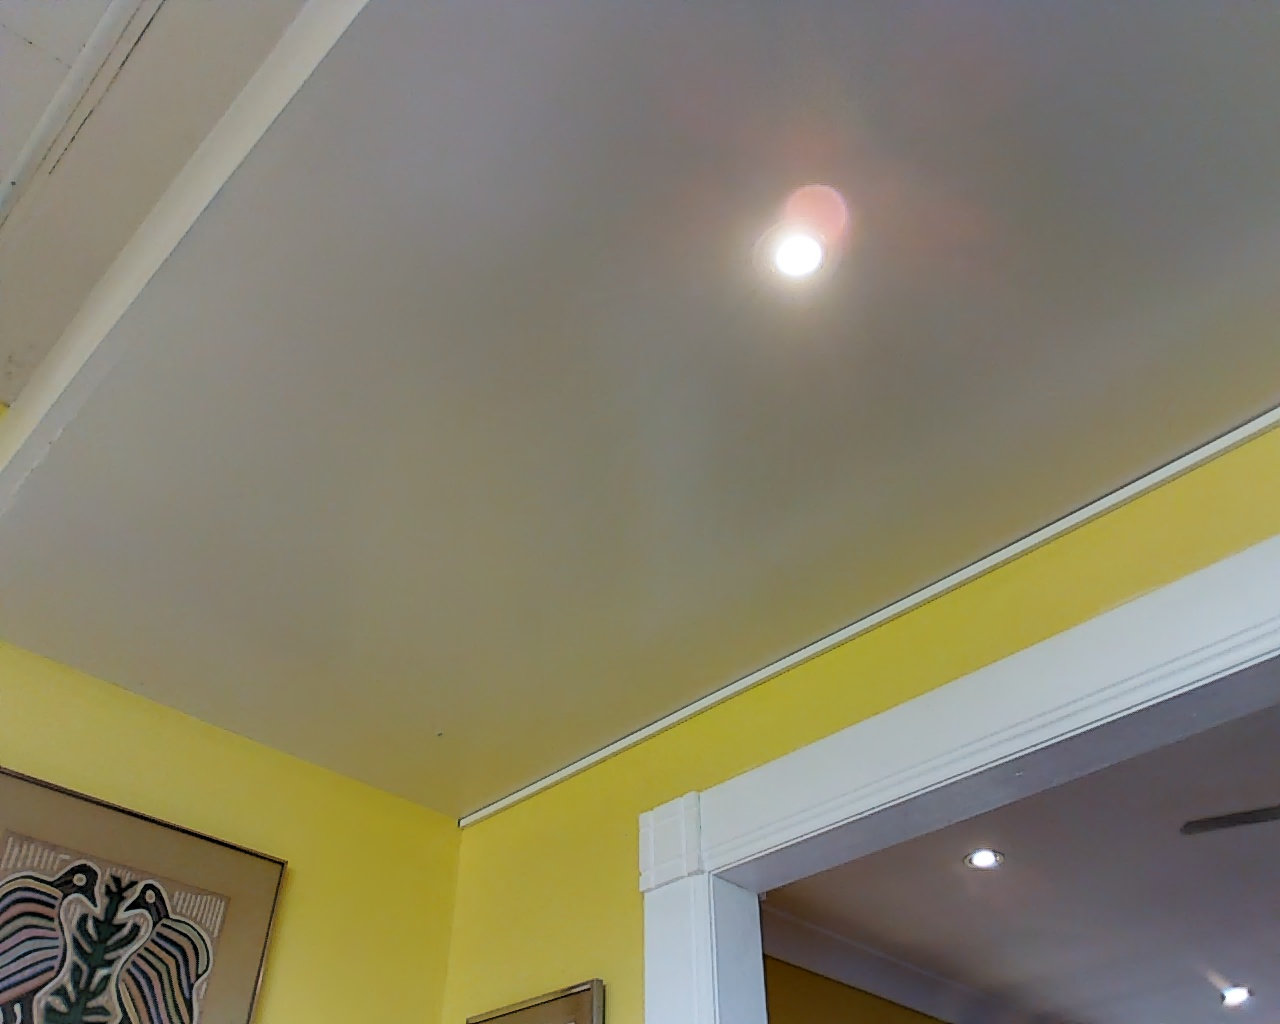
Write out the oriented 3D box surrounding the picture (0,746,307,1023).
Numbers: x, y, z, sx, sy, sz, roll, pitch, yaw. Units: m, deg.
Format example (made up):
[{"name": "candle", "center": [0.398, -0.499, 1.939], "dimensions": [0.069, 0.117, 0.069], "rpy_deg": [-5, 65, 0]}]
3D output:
[{"name": "picture", "center": [-0.869, 0.740, 1.750], "dimensions": [0.590, 0.570, 0.030], "rpy_deg": [33, -51, -32]}]
